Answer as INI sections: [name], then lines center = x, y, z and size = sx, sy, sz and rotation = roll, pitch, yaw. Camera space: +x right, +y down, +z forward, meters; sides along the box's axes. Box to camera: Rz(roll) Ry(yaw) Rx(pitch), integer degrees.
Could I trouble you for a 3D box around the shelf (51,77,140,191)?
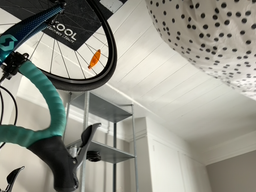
[shelf]
center = -0.230, 0.620, 1.750
size = 0.300, 1.430, 0.660
rotation = -26, 141, 31
